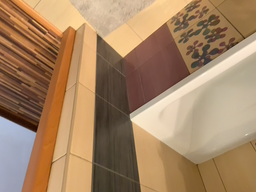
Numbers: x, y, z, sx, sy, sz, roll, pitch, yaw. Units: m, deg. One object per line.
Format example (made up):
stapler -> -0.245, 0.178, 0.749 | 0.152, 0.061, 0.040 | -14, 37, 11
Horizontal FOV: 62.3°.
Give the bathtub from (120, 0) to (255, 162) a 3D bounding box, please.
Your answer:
bathtub -> 0.790, -0.330, 1.120 | 1.580, 0.560, 0.690 | -35, 129, 25
